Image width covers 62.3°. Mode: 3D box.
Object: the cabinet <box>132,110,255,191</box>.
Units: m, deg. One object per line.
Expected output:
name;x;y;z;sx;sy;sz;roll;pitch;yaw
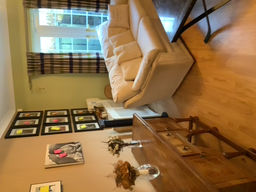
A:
cabinet;0.660;0.610;2.030;1.350;0.810;0.500;-142;52;-67
